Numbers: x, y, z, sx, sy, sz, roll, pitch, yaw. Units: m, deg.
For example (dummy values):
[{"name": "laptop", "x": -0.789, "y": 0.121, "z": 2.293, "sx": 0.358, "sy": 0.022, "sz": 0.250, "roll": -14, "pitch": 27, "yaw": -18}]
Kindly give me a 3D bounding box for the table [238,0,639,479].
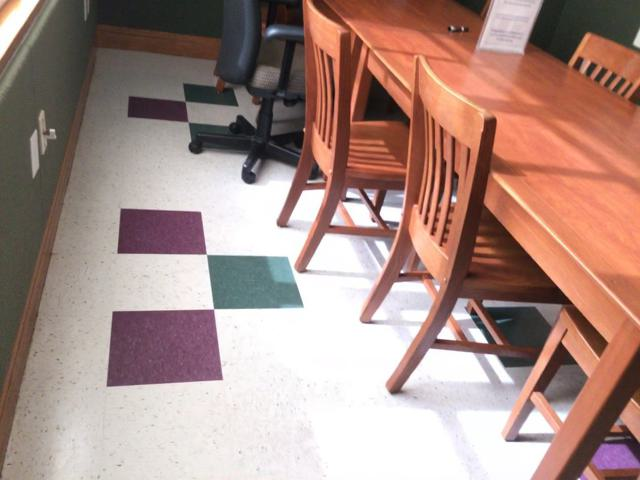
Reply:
[{"name": "table", "x": 0.430, "y": -0.560, "z": 2.540, "sx": 1.050, "sy": 0.820, "sz": 3.630, "roll": 0, "pitch": 35, "yaw": -17}]
